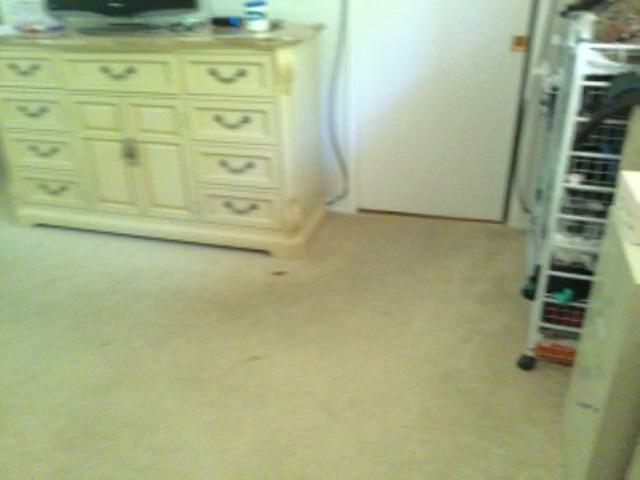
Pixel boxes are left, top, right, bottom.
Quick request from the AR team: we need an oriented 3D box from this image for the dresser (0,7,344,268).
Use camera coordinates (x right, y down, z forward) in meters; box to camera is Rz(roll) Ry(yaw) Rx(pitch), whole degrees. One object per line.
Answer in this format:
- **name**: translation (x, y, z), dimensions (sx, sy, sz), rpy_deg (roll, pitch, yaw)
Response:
- **dresser**: translation (-0.750, -0.510, 2.820), dimensions (1.670, 1.090, 0.480), rpy_deg (4, 28, 6)

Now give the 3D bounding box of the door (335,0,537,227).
- **door**: translation (0.510, -1.000, 2.610), dimensions (0.860, 1.910, 0.190), rpy_deg (7, 29, 15)
